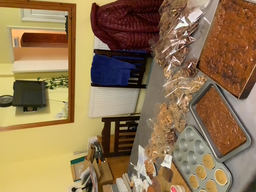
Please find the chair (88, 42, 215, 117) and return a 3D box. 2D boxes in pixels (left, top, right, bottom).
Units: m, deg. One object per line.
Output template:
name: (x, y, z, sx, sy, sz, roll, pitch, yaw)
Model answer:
chair: (0.190, -0.200, 2.050, 0.570, 1.000, 0.440, -125, 38, -50)
